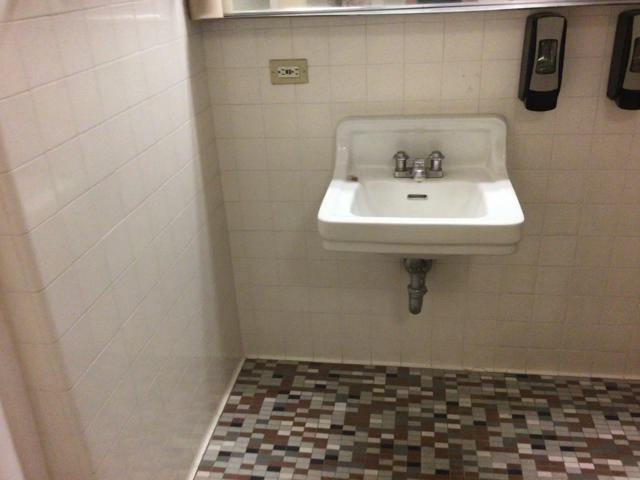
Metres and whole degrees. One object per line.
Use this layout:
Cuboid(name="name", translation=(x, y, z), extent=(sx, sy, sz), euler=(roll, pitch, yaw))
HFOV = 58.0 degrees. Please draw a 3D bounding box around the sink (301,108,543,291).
Cuboid(name="sink", translation=(0.270, -0.130, 1.590), extent=(0.540, 0.350, 0.460), euler=(0, 24, 10))
